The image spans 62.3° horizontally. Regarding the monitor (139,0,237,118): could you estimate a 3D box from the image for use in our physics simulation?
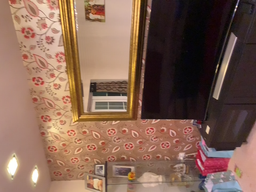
[{"bbox_3d":[0.510,-0.290,2.060,0.090,0.710,1.200,-99,10,-57],"label":"monitor"}]
